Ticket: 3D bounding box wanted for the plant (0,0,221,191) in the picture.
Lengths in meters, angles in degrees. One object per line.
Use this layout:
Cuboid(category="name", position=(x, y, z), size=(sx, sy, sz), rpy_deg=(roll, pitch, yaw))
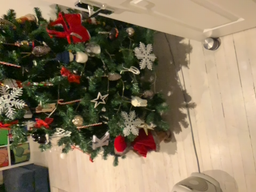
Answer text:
Cuboid(category="plant", position=(-0.430, -0.050, 1.260), size=(1.110, 1.690, 1.110), rpy_deg=(-9, 85, 47))
